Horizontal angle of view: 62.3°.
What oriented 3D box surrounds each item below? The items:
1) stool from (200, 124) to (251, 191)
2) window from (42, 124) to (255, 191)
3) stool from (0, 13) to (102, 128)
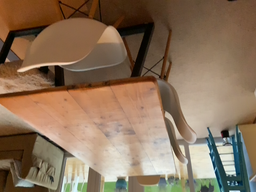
[{"bbox_3d":[1.370,0.970,3.060,0.430,1.010,0.410,-7,147,12],"label":"stool"},{"bbox_3d":[0.230,1.730,3.210,3.450,2.360,0.250,-7,147,12],"label":"window"},{"bbox_3d":[-0.630,-0.140,1.800,0.540,0.480,0.860,-7,147,10],"label":"stool"}]
